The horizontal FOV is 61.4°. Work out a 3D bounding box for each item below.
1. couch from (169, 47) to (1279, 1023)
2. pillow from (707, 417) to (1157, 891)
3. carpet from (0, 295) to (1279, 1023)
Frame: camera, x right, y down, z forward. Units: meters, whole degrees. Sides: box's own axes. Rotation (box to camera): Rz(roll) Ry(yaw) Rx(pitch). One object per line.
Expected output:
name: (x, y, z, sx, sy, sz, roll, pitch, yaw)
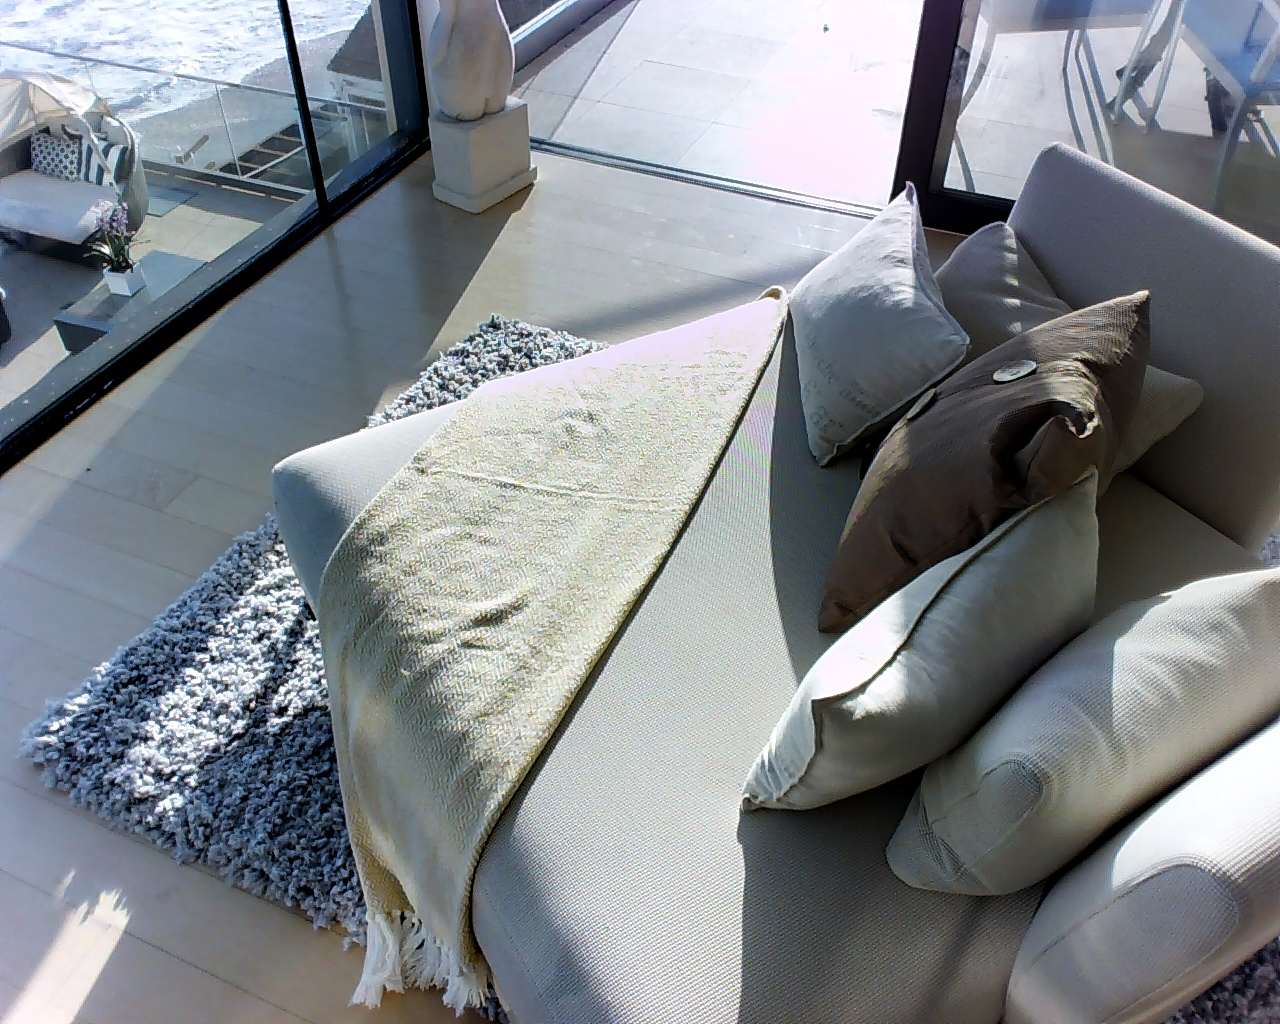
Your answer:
couch: (0.330, 0.060, 1.660, 1.490, 0.770, 1.540, -22, 47, -22)
pillow: (0.350, 0.190, 1.320, 0.180, 0.300, 0.540, 40, 83, 22)
carpet: (0.280, 0.270, 2.000, 2.280, 0.060, 1.600, 18, 46, 18)
